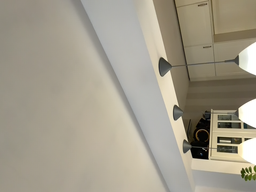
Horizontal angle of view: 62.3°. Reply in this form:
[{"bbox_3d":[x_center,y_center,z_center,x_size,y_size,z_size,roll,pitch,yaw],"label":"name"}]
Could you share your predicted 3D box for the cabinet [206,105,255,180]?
[{"bbox_3d":[1.320,0.490,2.300,0.450,0.830,0.650,65,-146,-40],"label":"cabinet"}]
